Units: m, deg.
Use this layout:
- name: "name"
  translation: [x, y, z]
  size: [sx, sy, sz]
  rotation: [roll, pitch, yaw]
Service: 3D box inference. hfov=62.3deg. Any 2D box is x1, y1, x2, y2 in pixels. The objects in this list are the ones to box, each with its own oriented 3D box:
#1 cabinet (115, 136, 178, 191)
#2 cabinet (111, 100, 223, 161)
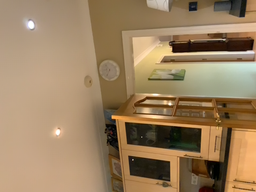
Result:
- name: "cabinet"
  translation: [0.320, 1.490, 3.120]
  size: [0.300, 0.770, 1.850]
  rotation: [-54, -38, -61]
- name: "cabinet"
  translation: [0.450, 0.390, 2.590]
  size: [0.290, 1.240, 0.560]
  rotation: [-54, -38, -61]
